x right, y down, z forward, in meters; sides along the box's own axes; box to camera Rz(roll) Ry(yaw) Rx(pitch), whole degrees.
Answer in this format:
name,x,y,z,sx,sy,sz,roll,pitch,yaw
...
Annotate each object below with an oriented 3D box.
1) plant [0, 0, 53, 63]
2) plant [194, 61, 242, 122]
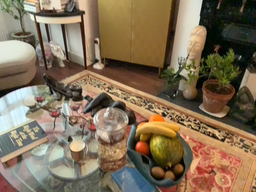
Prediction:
name,x,y,z,sx,sy,sz,roll,pitch,yaw
plant,-1.430,-1.210,2.810,0.470,1.400,0.410,22,39,28
plant,0.880,-0.050,2.090,0.240,0.450,0.320,25,40,31
